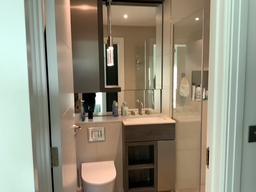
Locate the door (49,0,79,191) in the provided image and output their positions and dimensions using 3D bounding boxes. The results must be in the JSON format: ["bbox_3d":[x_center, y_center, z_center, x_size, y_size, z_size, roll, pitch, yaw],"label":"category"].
[{"bbox_3d":[-0.410,0.270,1.480,0.050,2.020,0.870,-2,6,-11],"label":"door"}]

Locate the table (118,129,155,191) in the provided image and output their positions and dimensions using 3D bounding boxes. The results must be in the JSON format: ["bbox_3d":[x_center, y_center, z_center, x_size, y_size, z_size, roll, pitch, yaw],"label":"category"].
[{"bbox_3d":[0.090,0.820,2.660,0.360,0.680,0.480,-2,6,-10],"label":"table"}]
